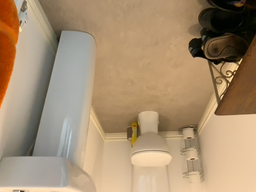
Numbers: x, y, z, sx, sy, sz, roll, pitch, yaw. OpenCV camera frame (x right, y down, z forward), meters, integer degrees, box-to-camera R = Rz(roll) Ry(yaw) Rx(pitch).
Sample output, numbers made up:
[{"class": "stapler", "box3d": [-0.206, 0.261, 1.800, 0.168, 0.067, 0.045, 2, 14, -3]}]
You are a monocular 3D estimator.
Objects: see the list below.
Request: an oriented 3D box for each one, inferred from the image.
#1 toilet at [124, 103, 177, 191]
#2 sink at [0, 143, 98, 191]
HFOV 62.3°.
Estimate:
[{"class": "toilet", "box3d": [0.190, 0.570, 2.020, 0.380, 0.770, 0.670, -3, 151, 4]}, {"class": "sink", "box3d": [-0.290, 0.320, 0.870, 0.230, 0.110, 0.470, -3, 151, 4]}]
